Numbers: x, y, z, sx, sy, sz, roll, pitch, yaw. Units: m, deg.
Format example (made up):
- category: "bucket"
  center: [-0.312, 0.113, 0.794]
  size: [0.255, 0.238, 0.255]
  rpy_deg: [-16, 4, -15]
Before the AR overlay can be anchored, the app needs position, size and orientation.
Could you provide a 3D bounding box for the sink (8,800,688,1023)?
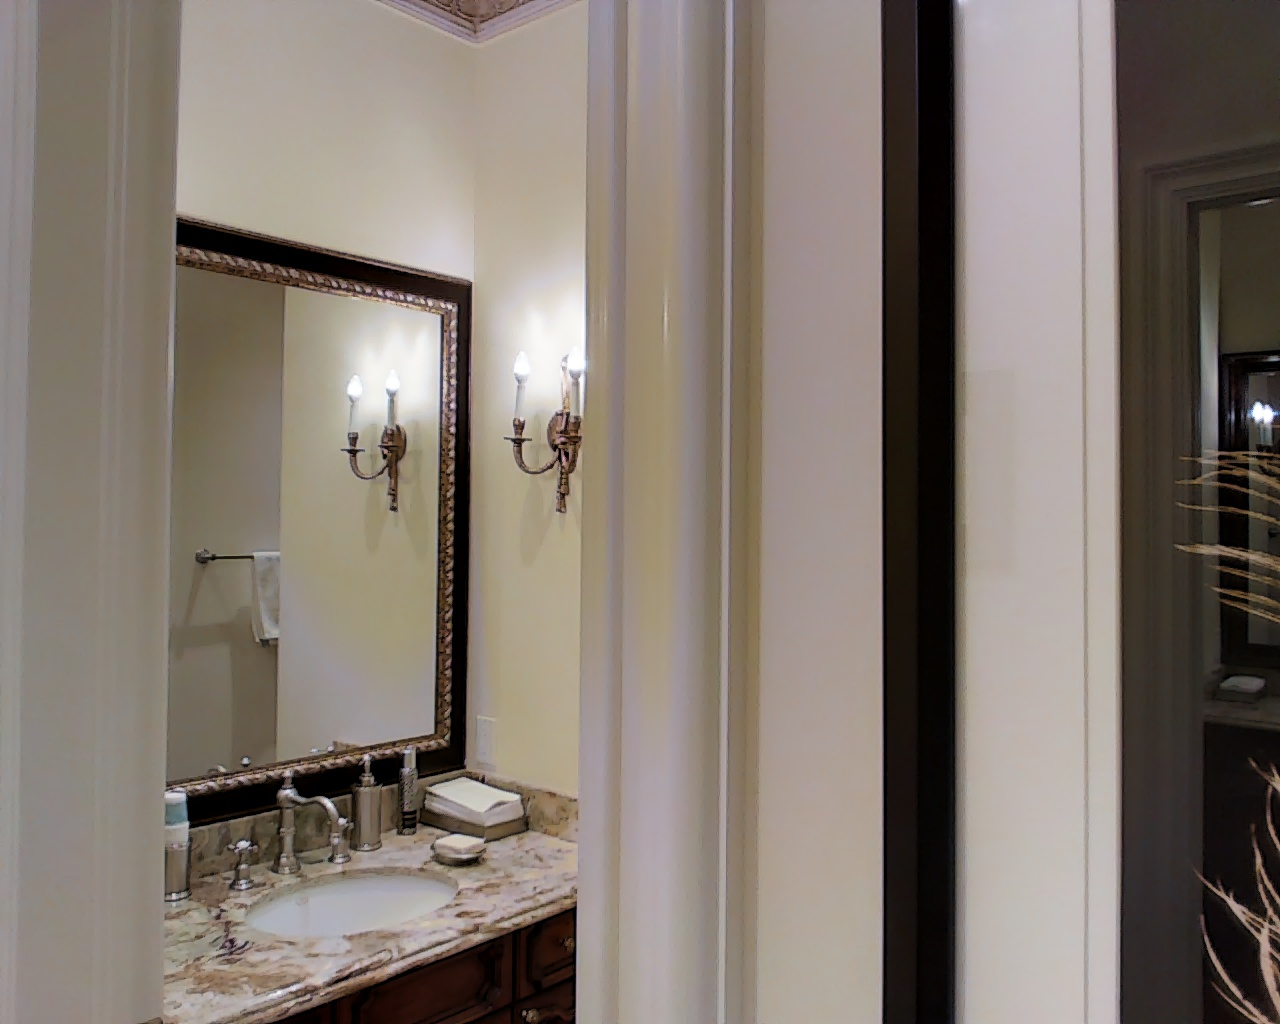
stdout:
- category: "sink"
  center: [-0.510, 0.800, 2.110]
  size: [0.660, 0.140, 1.110]
  rpy_deg: [1, -1, 41]
